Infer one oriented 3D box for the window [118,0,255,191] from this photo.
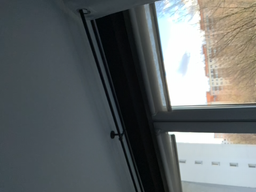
[{"bbox_3d":[0.850,0.170,1.290,0.140,1.450,1.750,-57,-43,-53],"label":"window"}]
